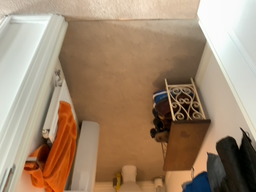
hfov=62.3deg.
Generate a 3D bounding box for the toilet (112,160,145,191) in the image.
[{"bbox_3d":[0.000,1.360,2.770,0.390,0.780,0.670,-2,138,-2],"label":"toilet"}]

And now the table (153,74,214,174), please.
[{"bbox_3d":[0.410,0.270,1.810,0.260,0.470,0.790,-2,138,-2],"label":"table"}]
